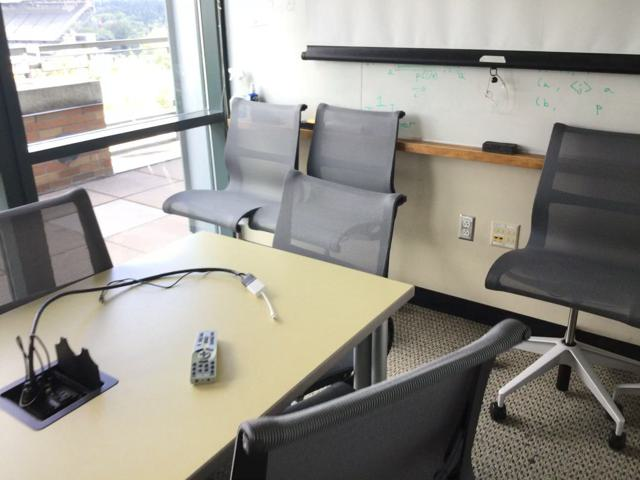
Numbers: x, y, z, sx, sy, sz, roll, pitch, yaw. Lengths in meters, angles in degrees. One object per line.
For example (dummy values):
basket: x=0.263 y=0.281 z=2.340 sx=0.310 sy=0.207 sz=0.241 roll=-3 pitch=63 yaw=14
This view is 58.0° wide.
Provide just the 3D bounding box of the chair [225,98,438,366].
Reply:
chair: x=0.060 y=-0.090 z=2.570 sx=0.660 sy=0.950 sz=0.590 roll=16 pitch=27 yaw=37

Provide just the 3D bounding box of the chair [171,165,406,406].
chair: x=-0.080 y=0.090 z=1.740 sx=0.480 sy=0.480 sz=0.470 roll=16 pitch=27 yaw=37

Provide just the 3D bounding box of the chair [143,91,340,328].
chair: x=-0.340 y=-0.200 z=2.840 sx=0.580 sy=0.930 sz=0.690 roll=13 pitch=26 yaw=33

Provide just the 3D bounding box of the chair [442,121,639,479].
chair: x=0.880 y=0.140 z=1.960 sx=0.650 sy=0.930 sz=0.610 roll=16 pitch=27 yaw=37
